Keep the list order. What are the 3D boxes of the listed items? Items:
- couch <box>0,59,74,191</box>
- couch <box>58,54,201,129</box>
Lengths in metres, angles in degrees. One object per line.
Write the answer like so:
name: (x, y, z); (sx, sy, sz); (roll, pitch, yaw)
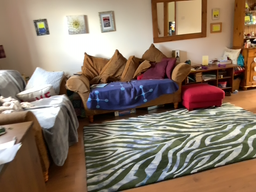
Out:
couch: (-1.230, 0.180, 2.470); (0.930, 0.930, 2.160); (-8, 16, -9)
couch: (0.010, -0.180, 3.580); (2.060, 0.790, 1.020); (-8, 16, -10)
